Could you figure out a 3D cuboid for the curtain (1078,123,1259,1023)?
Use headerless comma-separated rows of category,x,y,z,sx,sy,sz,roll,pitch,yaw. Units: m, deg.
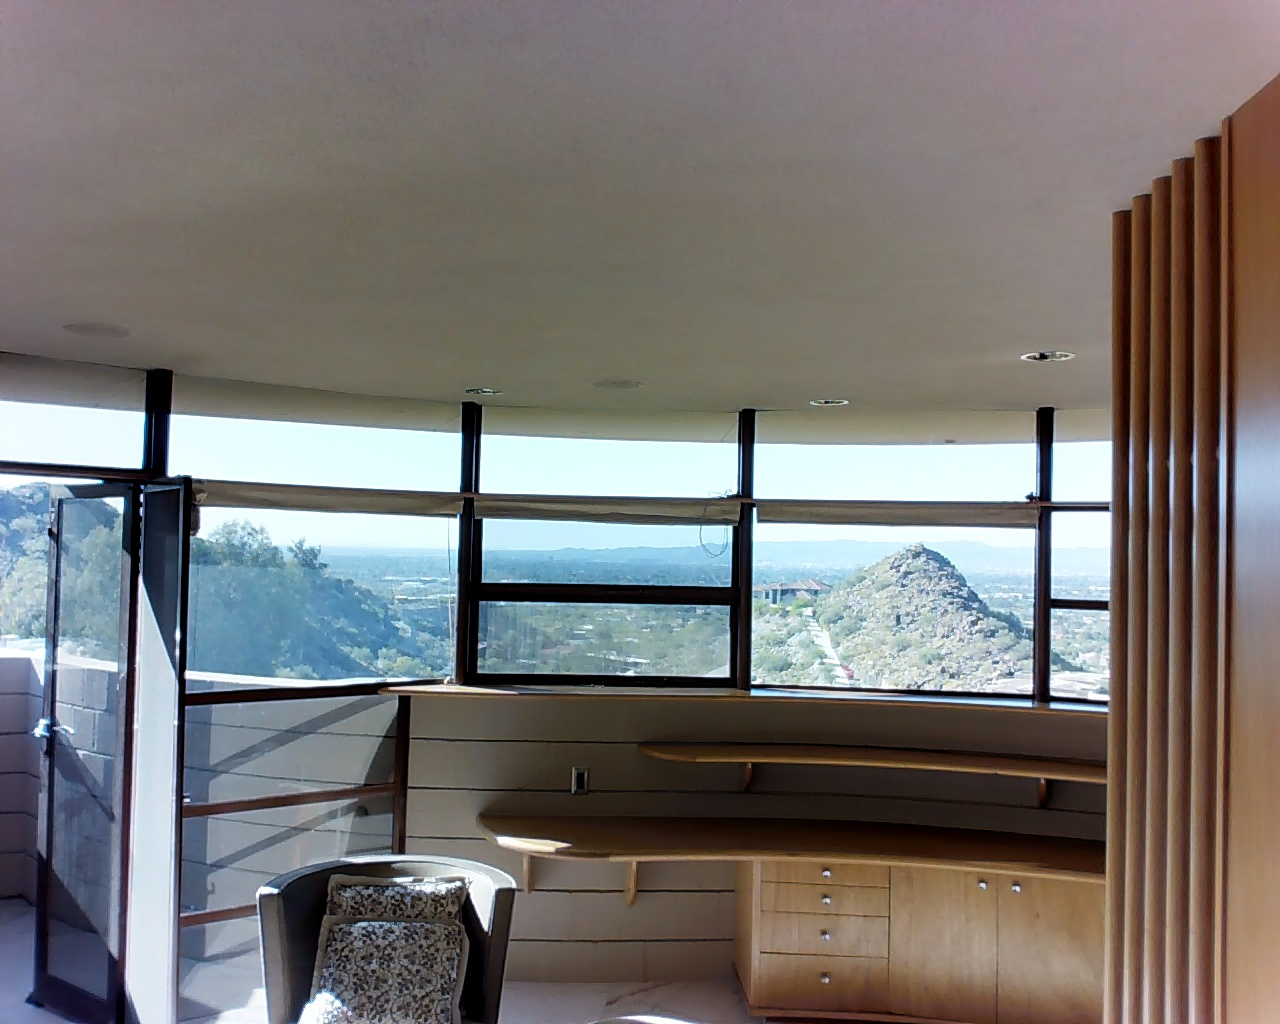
curtain,0.850,0.320,1.760,0.110,1.740,0.500,1,-2,8
